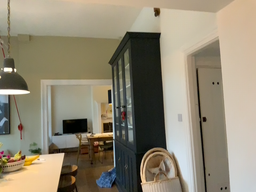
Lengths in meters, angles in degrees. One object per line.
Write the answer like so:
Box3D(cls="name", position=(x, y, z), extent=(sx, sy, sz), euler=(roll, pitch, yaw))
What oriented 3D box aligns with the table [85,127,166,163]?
Box3D(cls="table", position=(-0.120, 1.490, 6.800), extent=(2.350, 0.780, 1.110), euler=(-2, -4, -17))
